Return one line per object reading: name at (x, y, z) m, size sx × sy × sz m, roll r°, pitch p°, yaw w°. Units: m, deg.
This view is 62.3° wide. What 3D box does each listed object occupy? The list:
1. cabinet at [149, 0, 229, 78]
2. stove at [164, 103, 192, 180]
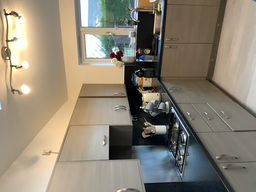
cabinet at (0.870, -1.150, 3.170) m, size 0.600 × 0.890 × 1.630 m, roll -102°, pitch 13°, yaw -66°
stove at (0.510, 0.460, 2.270) m, size 0.580 × 0.050 × 0.570 m, roll -102°, pitch 13°, yaw -66°
